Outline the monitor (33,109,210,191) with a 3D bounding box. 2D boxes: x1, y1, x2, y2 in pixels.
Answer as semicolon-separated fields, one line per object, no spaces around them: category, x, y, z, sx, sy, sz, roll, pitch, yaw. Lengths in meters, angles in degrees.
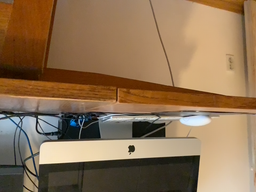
monitor;0.010;0.300;0.690;0.550;0.460;0.060;-5;177;-18
